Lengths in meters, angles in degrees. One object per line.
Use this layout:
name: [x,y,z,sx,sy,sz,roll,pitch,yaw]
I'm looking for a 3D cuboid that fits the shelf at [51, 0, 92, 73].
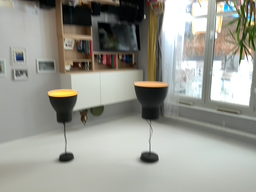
shelf: [-1.000,-1.070,3.840,0.660,1.270,0.200,-10,-165,-43]
